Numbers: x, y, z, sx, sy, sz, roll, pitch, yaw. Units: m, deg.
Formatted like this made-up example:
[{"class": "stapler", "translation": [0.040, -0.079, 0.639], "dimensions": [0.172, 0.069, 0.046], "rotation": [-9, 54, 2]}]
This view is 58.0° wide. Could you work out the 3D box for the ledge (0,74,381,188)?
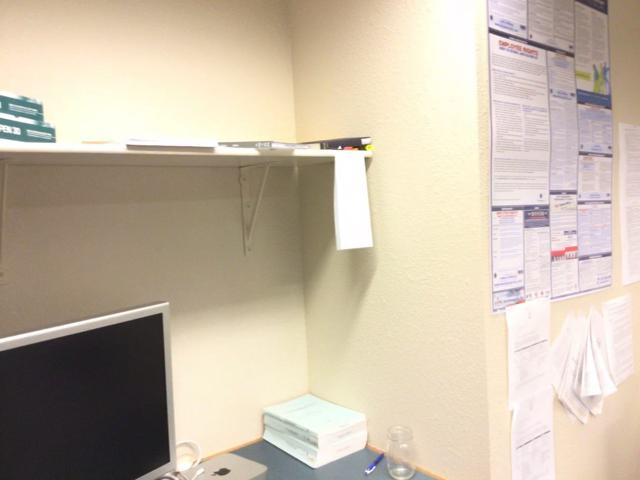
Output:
[{"class": "ledge", "translation": [-0.610, -0.210, 1.170], "dimensions": [1.840, 0.170, 0.240], "rotation": [-6, -1, -40]}]
